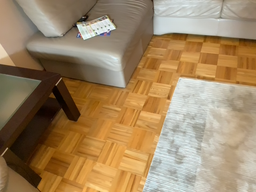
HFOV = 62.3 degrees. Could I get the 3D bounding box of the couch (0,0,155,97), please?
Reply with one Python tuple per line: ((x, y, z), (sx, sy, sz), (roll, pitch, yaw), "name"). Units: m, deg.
((-0.360, -0.670, 1.830), (0.940, 0.850, 0.850), (11, 52, 19), "couch")
